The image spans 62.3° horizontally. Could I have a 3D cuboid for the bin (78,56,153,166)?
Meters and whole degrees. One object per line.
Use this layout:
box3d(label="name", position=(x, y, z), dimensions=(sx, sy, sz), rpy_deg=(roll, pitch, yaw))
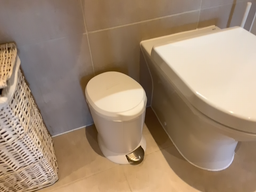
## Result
box3d(label="bin", position=(-0.050, 0.060, 0.850), dimensions=(0.200, 0.320, 0.250), rpy_deg=(-15, 44, -13))

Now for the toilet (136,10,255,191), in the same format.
box3d(label="toilet", position=(0.320, 0.020, 0.800), dimensions=(0.400, 0.430, 0.540), rpy_deg=(-16, 45, -14))

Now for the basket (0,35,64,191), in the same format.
box3d(label="basket", position=(-0.430, 0.140, 0.630), dimensions=(0.320, 0.530, 0.210), rpy_deg=(-15, 44, -13))
